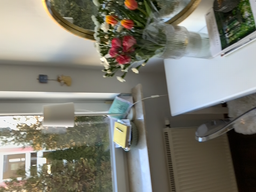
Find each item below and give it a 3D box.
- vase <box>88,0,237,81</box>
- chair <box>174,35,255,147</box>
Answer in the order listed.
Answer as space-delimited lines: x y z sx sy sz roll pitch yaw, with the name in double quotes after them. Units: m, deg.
0.120 -0.240 0.980 0.430 0.510 0.190 147 120 -62 "vase"
0.750 0.020 1.170 0.430 0.820 0.420 144 123 -62 "chair"
